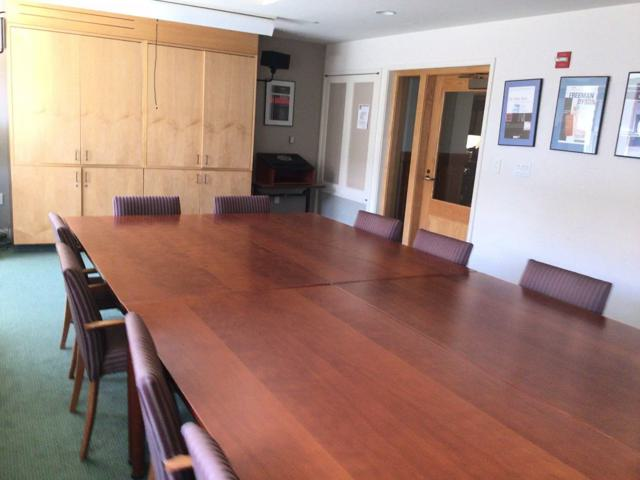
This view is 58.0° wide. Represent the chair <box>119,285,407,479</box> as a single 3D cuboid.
[{"bbox_3d":[-0.210,0.690,1.800,0.650,0.910,0.650,-4,12,-28],"label":"chair"}]
